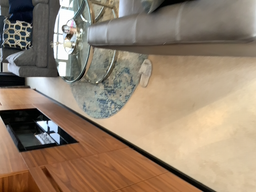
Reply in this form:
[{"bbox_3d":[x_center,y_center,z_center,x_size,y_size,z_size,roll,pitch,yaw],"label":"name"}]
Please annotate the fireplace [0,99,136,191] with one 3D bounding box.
[{"bbox_3d":[-1.030,0.540,2.520,2.040,1.160,0.560,17,105,50],"label":"fireplace"}]
